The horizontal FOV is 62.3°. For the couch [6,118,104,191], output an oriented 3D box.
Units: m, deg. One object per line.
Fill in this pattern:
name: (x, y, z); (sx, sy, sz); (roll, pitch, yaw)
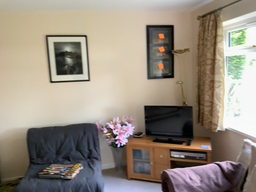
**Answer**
couch: (-0.820, 0.840, 2.730); (0.920, 0.800, 1.100); (-4, 8, -10)

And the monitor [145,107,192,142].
monitor: (0.560, 0.390, 2.950); (0.630, 0.440, 0.060); (1, 9, 22)
